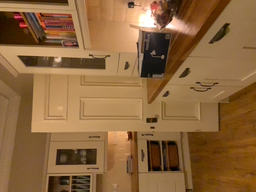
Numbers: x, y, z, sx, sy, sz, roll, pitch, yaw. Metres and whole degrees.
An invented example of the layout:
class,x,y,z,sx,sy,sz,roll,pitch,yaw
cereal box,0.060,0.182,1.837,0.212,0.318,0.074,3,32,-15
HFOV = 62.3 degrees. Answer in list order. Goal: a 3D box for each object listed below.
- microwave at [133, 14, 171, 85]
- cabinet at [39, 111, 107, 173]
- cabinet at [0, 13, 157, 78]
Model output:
class,x,y,z,sx,sy,sz,roll,pitch,yaw
microwave,0.160,-0.330,1.620,0.420,0.190,0.360,109,162,-71
cabinet,-0.900,0.790,3.670,0.300,1.040,1.000,108,163,-71
cabinet,-0.480,-0.450,2.060,0.540,1.410,0.320,109,162,-72
